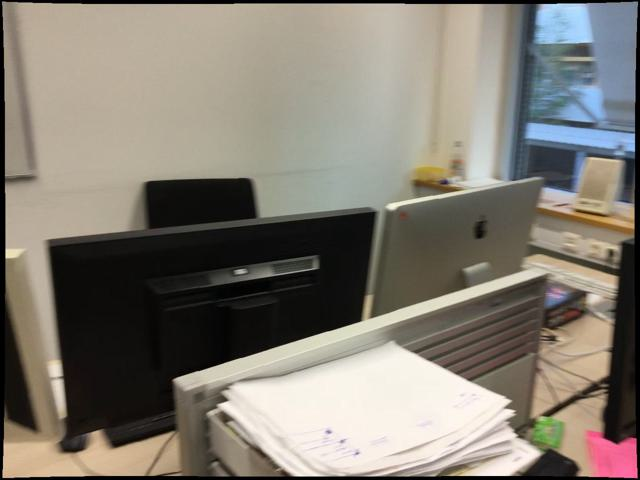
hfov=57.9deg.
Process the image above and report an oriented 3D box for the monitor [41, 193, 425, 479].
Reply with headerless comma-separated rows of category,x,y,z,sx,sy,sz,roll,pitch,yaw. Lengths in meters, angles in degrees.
monitor,-0.130,0.200,1.140,0.680,0.480,0.220,-11,21,-36
